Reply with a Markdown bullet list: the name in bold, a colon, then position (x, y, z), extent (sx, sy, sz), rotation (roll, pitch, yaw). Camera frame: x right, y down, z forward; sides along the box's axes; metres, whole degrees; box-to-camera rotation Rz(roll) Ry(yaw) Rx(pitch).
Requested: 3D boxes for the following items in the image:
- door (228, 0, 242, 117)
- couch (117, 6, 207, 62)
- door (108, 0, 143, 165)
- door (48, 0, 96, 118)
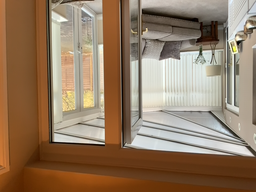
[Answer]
- **door**: position (2.220, -0.730, 4.450), extent (0.070, 2.100, 1.840), rotation (0, -178, 21)
- **couch**: position (0.780, -1.340, 4.950), extent (1.780, 0.850, 1.070), rotation (-1, -179, -25)
- **door**: position (0.010, -0.620, 1.760), extent (0.080, 2.060, 0.970), rotation (-1, -178, 11)
- **door**: position (-0.960, -0.700, 3.920), extent (0.160, 2.020, 1.390), rotation (-1, -178, 15)
